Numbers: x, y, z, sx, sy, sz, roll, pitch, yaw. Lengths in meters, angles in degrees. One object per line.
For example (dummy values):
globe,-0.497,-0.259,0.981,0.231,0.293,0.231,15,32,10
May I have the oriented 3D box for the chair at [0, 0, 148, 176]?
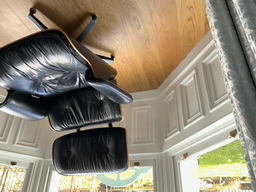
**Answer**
chair,-0.410,0.000,1.400,0.840,0.820,0.880,-10,147,19
